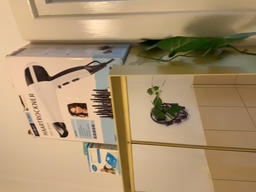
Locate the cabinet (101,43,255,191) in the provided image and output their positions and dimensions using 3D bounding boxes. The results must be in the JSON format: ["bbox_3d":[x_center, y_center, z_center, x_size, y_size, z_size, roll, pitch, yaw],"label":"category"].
[{"bbox_3d":[0.190,0.200,0.630,0.160,0.420,0.680,-73,-17,-53],"label":"cabinet"}]
